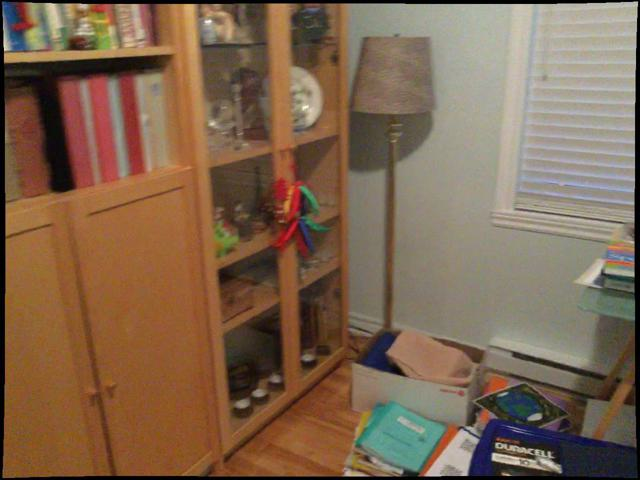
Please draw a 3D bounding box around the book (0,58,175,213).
[{"bbox_3d":[-0.699,-0.260,1.380,0.210,0.290,0.700,12,25,32],"label":"book"}]

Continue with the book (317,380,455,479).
[{"bbox_3d":[0.230,0.671,1.960,0.330,0.130,0.360,12,25,32],"label":"book"}]

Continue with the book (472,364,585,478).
[{"bbox_3d":[0.739,0.621,2.040,0.280,0.140,0.350,12,25,32],"label":"book"}]
